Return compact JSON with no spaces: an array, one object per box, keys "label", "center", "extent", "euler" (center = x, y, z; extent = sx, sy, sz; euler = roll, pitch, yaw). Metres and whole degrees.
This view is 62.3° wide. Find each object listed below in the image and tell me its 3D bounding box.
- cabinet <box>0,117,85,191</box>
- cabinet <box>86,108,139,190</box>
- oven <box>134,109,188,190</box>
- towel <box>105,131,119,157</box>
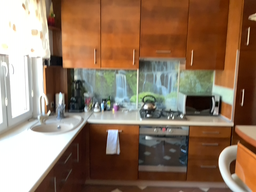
[{"label":"cabinet","center":[-0.850,0.800,1.840],"extent":[0.680,0.880,1.440],"euler":[1,8,-1]},{"label":"cabinet","center":[-0.200,0.670,2.880],"extent":[0.620,0.870,0.660],"euler":[1,8,-1]},{"label":"oven","center":[0.400,0.680,2.890],"extent":[0.590,0.880,0.640],"euler":[1,8,-1]},{"label":"towel","center":[-0.190,0.570,2.500],"extent":[0.160,0.300,0.050],"euler":[2,8,0]}]
